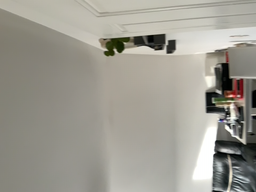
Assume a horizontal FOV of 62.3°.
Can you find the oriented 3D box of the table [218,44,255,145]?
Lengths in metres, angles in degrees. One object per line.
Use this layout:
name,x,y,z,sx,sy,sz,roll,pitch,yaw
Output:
table,1.790,-0.070,2.960,1.010,0.760,1.190,-36,-57,-79
